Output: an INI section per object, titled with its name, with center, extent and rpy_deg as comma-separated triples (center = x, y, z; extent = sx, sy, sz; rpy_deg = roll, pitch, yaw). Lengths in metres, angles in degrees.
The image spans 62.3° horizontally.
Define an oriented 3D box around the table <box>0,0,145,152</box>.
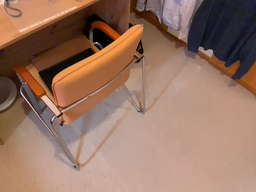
[table]
center = -0.550, -0.380, 1.440
extent = 1.250, 0.750, 0.600
rpy_deg = -39, 67, -24
